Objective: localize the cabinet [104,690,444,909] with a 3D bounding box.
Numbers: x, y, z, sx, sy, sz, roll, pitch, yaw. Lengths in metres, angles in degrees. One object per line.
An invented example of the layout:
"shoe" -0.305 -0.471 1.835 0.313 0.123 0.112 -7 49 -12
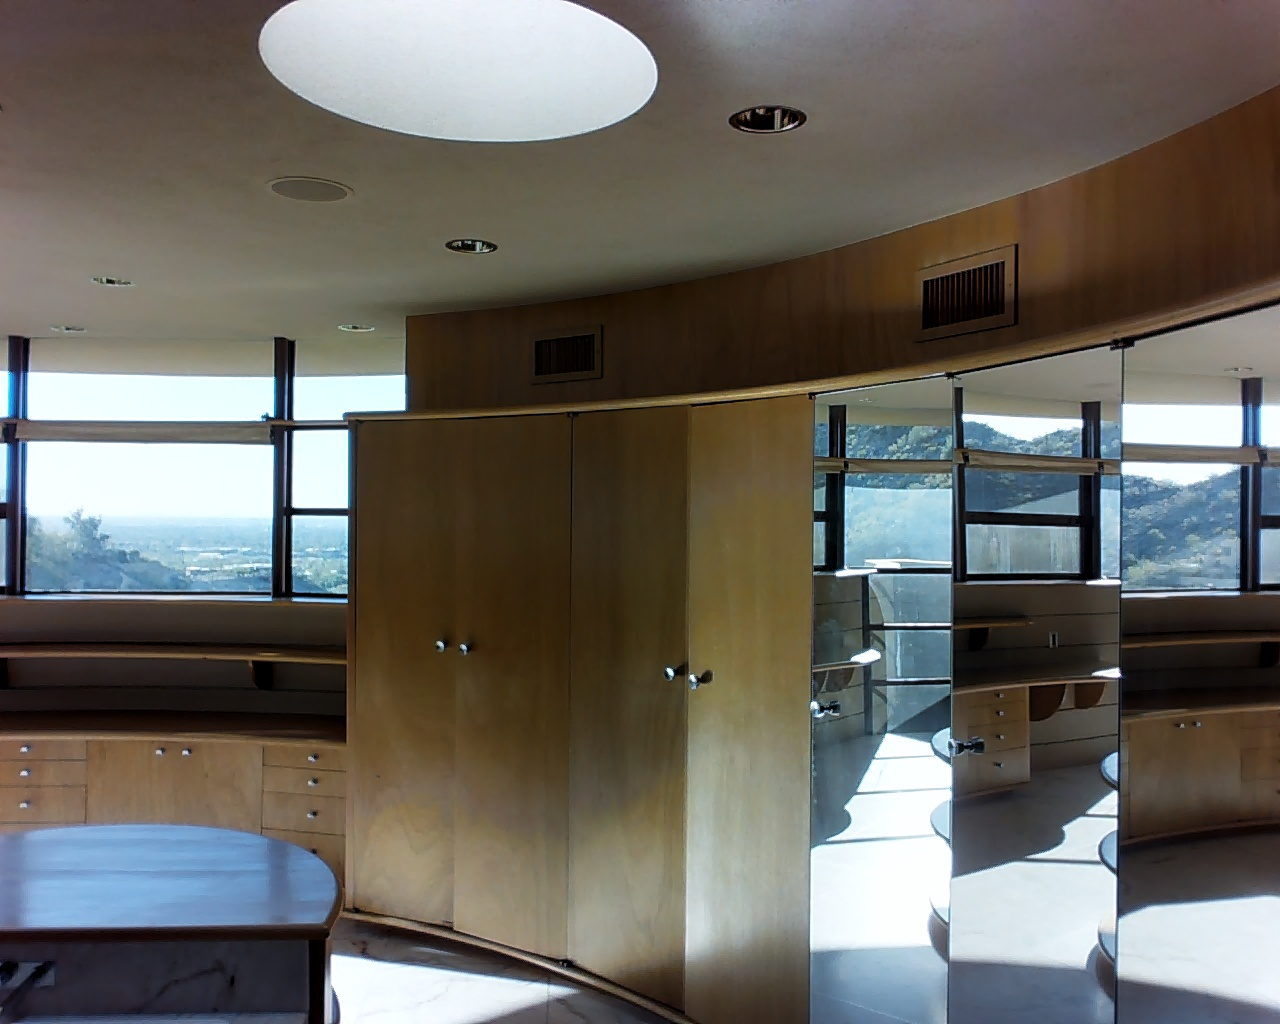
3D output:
"cabinet" -1.560 1.210 4.650 1.260 0.740 0.590 0 0 9
